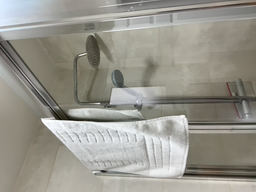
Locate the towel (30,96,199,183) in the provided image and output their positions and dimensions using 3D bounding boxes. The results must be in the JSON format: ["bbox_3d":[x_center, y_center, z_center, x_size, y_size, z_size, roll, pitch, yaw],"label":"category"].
[{"bbox_3d":[-0.010,0.210,0.850,0.540,0.500,0.100,75,-163,-51],"label":"towel"}]
